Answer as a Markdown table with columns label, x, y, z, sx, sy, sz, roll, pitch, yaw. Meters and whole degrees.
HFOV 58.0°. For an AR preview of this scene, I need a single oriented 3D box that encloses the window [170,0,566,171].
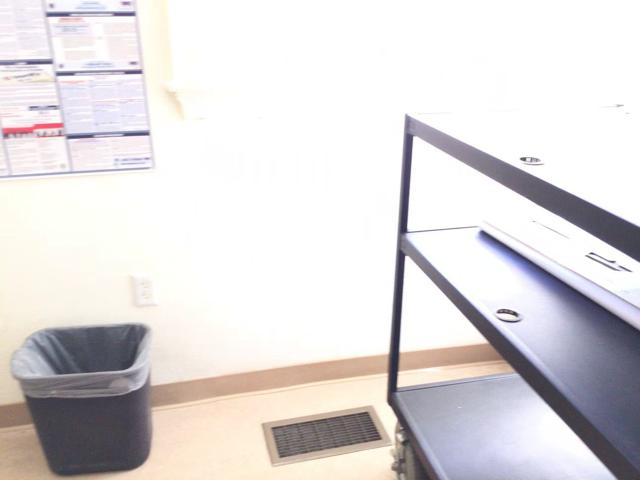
| label | x | y | z | sx | sy | sz | roll | pitch | yaw |
| --- | --- | --- | --- | --- | --- | --- | --- | --- | --- |
| window | 0.150 | -0.570 | 1.790 | 1.170 | 0.640 | 0.270 | -3 | 18 | -16 |

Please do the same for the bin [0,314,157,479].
| label | x | y | z | sx | sy | sz | roll | pitch | yaw |
| --- | --- | --- | --- | --- | --- | --- | --- | --- | --- |
| bin | -0.700 | 0.480 | 1.750 | 0.370 | 0.380 | 0.310 | -3 | 18 | -16 |
